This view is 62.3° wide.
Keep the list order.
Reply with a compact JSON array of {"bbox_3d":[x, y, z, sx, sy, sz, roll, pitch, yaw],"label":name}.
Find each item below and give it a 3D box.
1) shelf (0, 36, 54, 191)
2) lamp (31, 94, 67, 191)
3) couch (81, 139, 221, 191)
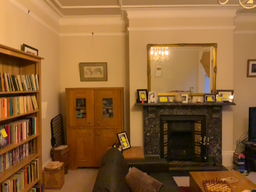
[{"bbox_3d":[-1.210,0.470,2.340,0.370,2.010,1.000,0,3,2],"label":"shelf"},{"bbox_3d":[-1.160,0.700,3.170,0.340,1.450,0.480,0,3,-2],"label":"lamp"},{"bbox_3d":[0.200,1.060,2.400,1.060,0.760,1.540,0,3,2],"label":"couch"}]
